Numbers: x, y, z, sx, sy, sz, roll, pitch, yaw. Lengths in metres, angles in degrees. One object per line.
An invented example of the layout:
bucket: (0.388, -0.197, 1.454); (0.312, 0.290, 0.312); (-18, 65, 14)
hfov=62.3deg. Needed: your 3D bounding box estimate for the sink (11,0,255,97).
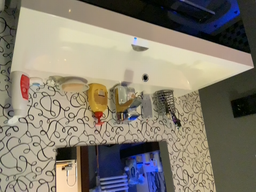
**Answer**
sink: (0.050, -0.160, 0.790); (0.820, 0.160, 0.390); (6, 161, -31)
